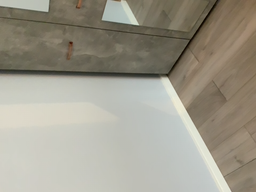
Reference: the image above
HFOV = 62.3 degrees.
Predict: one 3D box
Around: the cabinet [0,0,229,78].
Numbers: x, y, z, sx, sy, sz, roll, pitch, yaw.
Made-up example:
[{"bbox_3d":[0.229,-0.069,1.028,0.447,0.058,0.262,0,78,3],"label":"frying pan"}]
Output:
[{"bbox_3d":[-0.390,-0.620,1.400,0.760,1.890,0.570,-60,39,44],"label":"cabinet"}]
